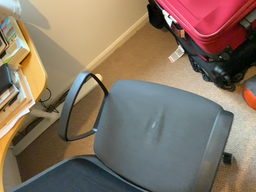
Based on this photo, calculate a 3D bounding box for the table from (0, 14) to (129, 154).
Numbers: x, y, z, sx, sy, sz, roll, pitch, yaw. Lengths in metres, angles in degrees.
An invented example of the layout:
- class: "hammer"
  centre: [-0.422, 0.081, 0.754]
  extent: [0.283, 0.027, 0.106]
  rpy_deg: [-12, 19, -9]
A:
- class: "table"
  centre: [-0.440, 0.000, 1.350]
  extent: [0.410, 0.730, 0.570]
  rpy_deg: [-37, 62, 12]
